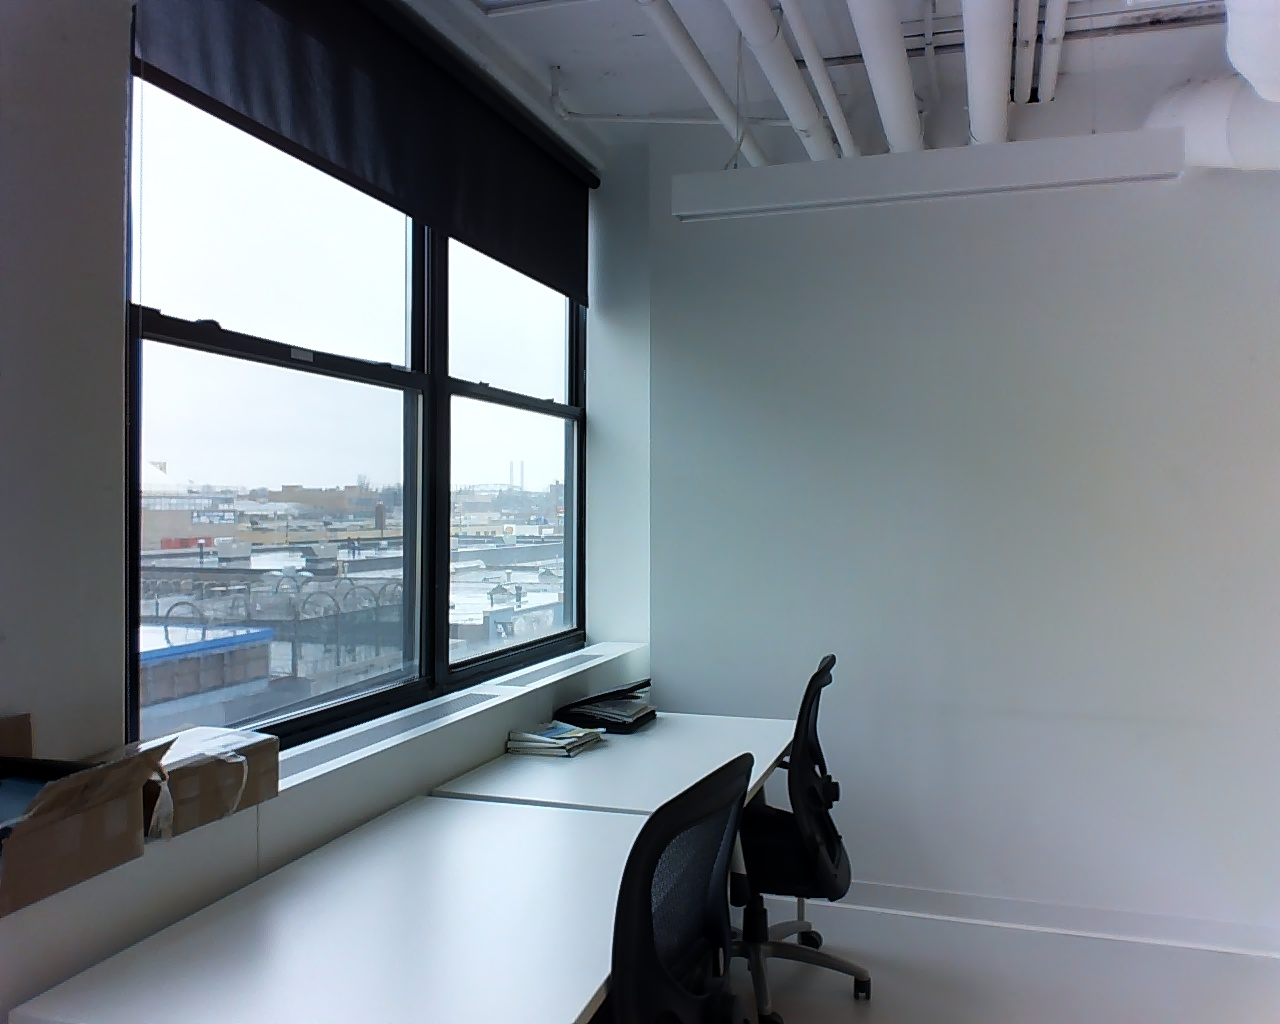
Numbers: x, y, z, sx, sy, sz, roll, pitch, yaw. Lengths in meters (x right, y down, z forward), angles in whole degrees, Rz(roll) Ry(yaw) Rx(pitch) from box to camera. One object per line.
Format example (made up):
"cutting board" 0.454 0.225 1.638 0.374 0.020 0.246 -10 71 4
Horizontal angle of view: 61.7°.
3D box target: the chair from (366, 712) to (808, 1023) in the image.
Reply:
"chair" -0.040 0.940 1.860 0.570 1.030 0.690 0 0 17

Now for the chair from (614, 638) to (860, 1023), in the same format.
"chair" 0.360 0.970 3.380 0.610 1.000 1.140 0 0 14

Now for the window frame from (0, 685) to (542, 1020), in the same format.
"window frame" -0.920 0.640 1.690 0.110 0.170 3.640 0 0 18
